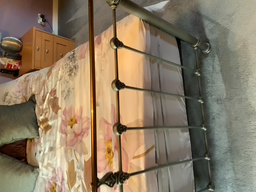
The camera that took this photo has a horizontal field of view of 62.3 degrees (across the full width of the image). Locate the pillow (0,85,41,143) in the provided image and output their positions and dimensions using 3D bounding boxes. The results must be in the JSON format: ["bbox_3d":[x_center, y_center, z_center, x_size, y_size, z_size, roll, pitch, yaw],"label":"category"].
[{"bbox_3d":[-0.950,0.170,1.810,0.350,0.260,0.420,-15,74,42],"label":"pillow"}]

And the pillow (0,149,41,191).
[{"bbox_3d":[-0.950,0.660,1.730,0.170,0.360,0.380,19,81,9],"label":"pillow"}]
